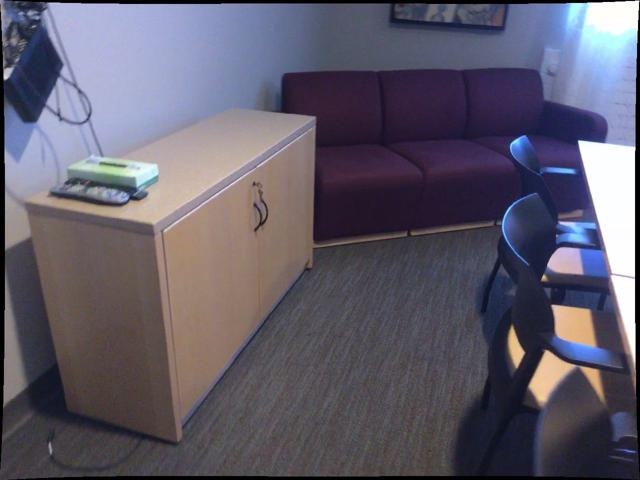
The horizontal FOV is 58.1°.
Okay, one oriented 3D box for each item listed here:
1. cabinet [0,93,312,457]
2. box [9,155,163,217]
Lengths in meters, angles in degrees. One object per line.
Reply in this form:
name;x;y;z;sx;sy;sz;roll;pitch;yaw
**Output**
cabinet;-0.479;0.000;2.130;0.519;0.791;1.210;9;28;16
box;-0.659;-0.160;1.640;0.359;0.070;0.190;9;28;16
